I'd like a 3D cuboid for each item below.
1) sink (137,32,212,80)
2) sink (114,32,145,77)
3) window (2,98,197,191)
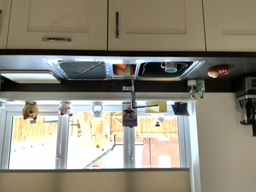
[{"bbox_3d":[0.310,-0.280,1.610,0.430,0.190,0.490,0,170,-3],"label":"sink"},{"bbox_3d":[0.000,-0.290,1.580,0.200,0.190,0.400,0,170,-3],"label":"sink"},{"bbox_3d":[-0.240,0.520,1.960,1.680,0.990,0.140,0,170,-2],"label":"window"}]
